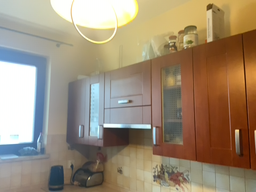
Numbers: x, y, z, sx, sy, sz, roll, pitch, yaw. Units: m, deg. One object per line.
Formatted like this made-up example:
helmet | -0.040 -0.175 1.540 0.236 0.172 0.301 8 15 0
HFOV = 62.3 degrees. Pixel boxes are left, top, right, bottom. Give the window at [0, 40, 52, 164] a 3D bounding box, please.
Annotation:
window | -1.660 0.030 2.020 1.720 1.250 0.290 6 -8 -40
